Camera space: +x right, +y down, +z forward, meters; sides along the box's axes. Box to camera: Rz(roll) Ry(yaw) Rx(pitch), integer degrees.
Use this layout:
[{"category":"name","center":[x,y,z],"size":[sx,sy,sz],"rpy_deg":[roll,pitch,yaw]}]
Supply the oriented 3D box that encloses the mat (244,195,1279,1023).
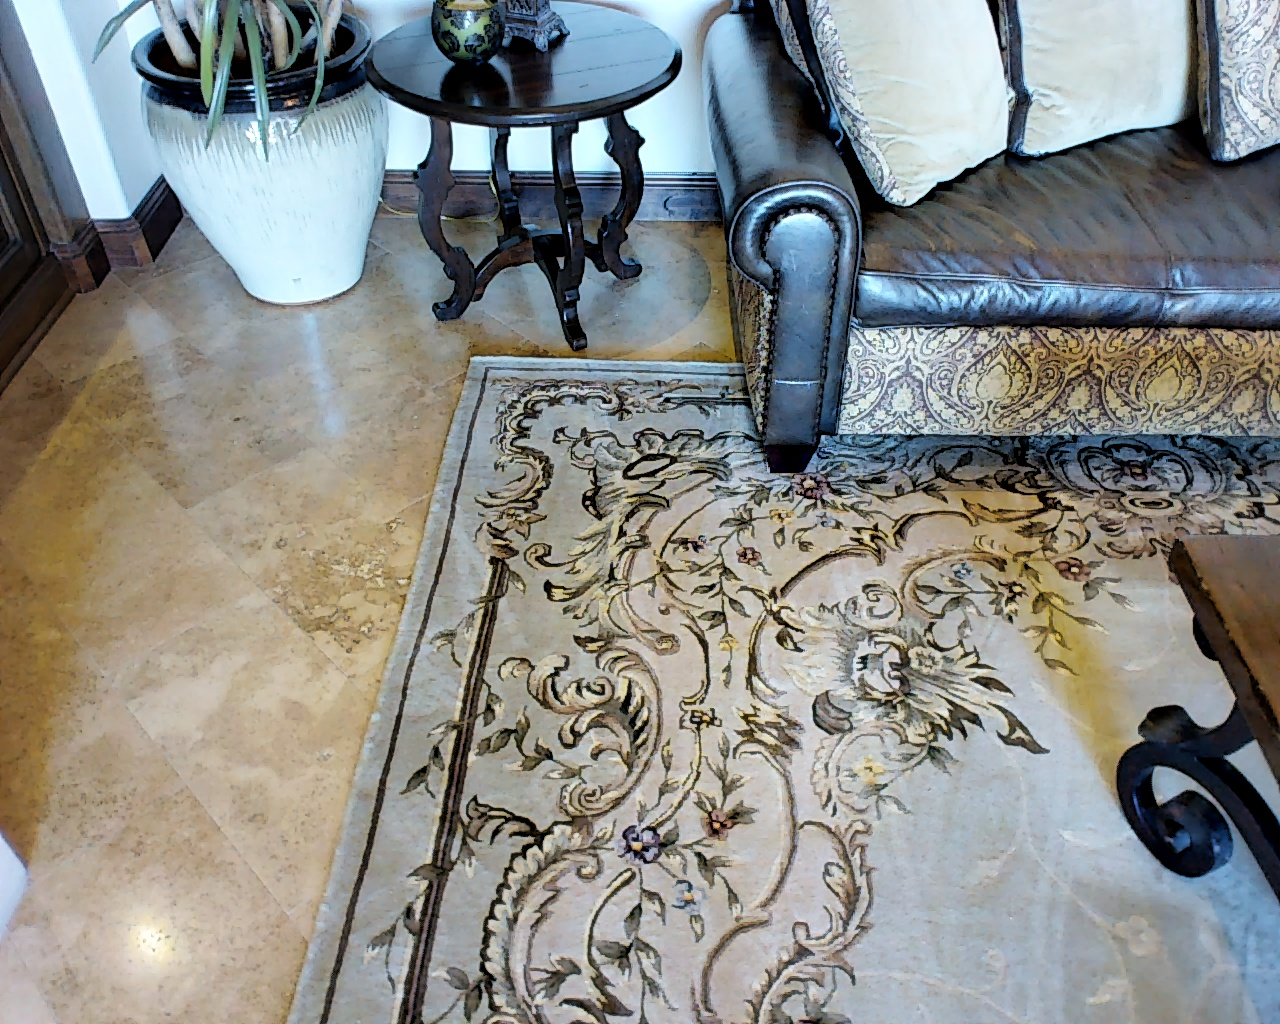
[{"category":"mat","center":[0.980,0.800,1.260],"size":[2.970,0.090,4.890],"rpy_deg":[1,42,1]}]

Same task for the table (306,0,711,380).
[{"category":"table","center":[-0.250,-0.850,2.620],"size":[0.790,0.710,0.790],"rpy_deg":[1,42,1]}]
